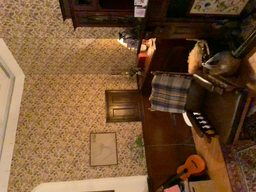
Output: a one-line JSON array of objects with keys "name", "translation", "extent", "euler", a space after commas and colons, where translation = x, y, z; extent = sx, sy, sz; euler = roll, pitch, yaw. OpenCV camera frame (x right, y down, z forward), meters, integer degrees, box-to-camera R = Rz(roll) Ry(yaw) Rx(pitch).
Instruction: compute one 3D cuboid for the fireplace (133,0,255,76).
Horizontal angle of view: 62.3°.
[{"name": "fireplace", "translation": [0.790, -1.060, 2.060], "extent": [1.960, 1.190, 0.780], "euler": [103, 164, -63]}]
